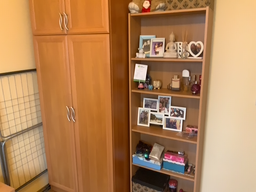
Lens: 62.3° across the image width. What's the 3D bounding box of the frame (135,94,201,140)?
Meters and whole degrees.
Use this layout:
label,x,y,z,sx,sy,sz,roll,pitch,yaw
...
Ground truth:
label,x,y,z,sx,sy,sz,roll,pitch,yaw
frame,0.340,0.170,1.890,0.550,0.310,0.120,7,16,26
